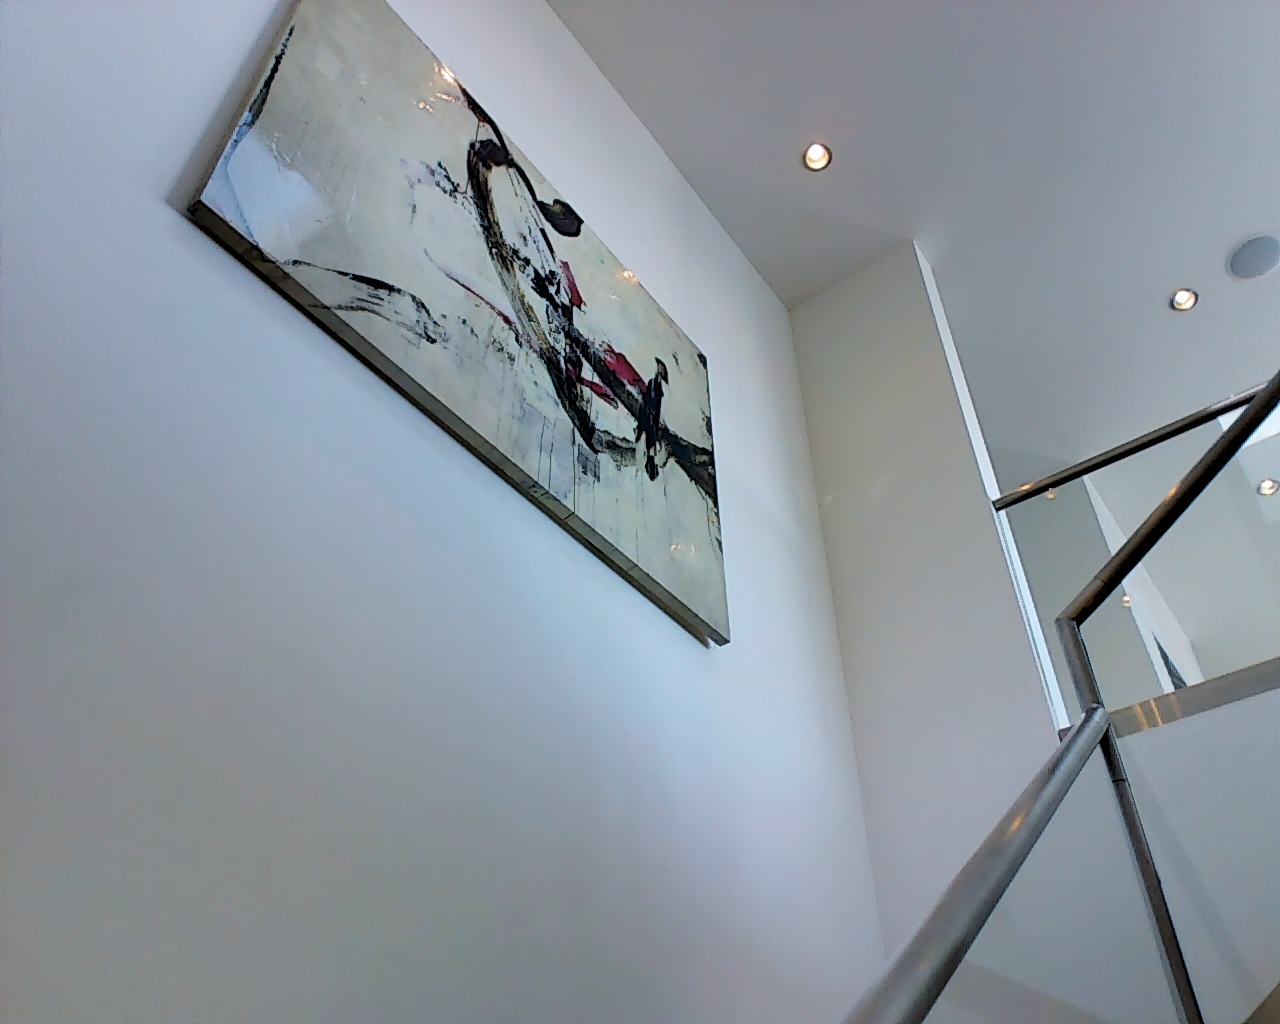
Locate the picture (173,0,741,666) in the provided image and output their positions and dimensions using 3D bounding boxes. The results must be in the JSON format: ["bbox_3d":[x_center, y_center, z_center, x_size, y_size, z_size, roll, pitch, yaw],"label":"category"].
[{"bbox_3d":[-0.290,-0.570,2.980,0.060,1.370,1.830,-27,-49,27],"label":"picture"}]
